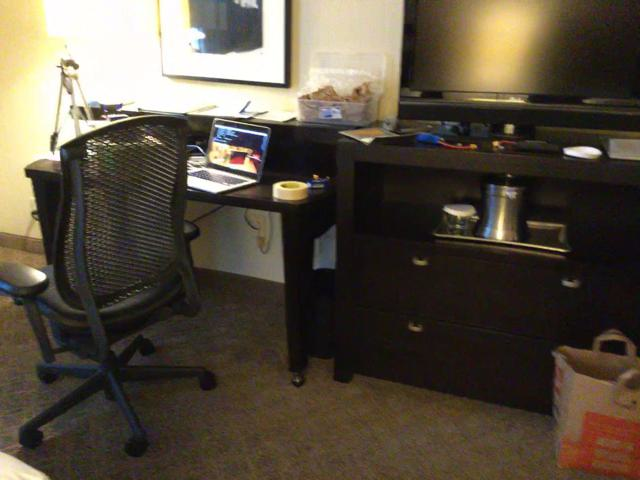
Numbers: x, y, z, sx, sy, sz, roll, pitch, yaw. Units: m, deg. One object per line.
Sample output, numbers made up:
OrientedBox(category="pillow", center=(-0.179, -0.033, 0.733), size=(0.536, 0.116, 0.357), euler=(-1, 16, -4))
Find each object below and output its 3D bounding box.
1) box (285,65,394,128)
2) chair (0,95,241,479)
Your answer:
OrientedBox(category="box", center=(0.080, -0.600, 2.390), size=(0.380, 0.200, 0.250), euler=(10, 23, 20))
OrientedBox(category="chair", center=(-0.740, 0.120, 1.940), size=(0.650, 1.070, 0.660), euler=(12, 24, 26))
